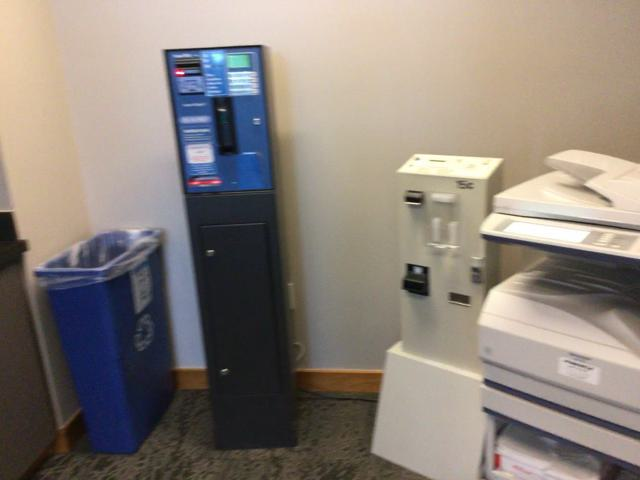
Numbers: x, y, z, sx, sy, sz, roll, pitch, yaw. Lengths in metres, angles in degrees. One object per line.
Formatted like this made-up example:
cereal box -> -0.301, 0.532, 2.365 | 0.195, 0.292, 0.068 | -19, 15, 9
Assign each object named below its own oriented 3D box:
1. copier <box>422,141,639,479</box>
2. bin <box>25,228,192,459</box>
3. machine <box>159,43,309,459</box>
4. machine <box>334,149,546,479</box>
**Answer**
copier -> 0.830, 0.310, 1.630 | 0.770, 1.070, 0.730 | -15, 18, -37
bin -> -0.790, 0.380, 2.280 | 0.330, 0.750, 0.500 | -1, 15, 7
machine -> -0.270, 0.060, 2.100 | 0.330, 1.430, 0.350 | -1, 15, 7
machine -> 0.410, 0.260, 1.960 | 0.500, 1.060, 0.450 | -16, 19, -41
